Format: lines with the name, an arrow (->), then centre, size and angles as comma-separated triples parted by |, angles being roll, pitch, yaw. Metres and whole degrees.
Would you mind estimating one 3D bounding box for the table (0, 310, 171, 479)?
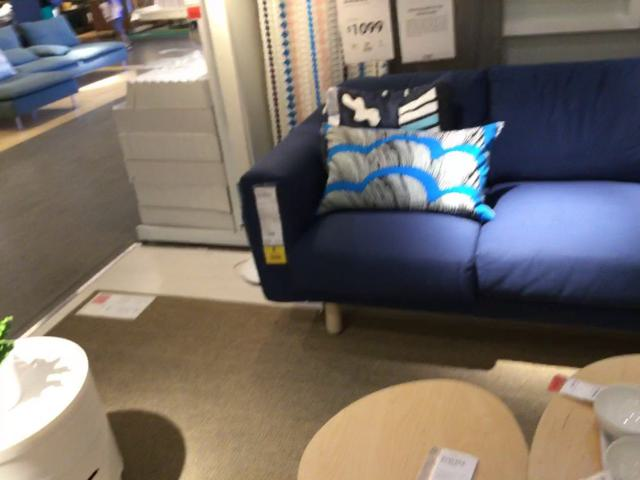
table -> -0.770, 0.530, 1.530 | 0.460, 0.460, 0.470 | 4, 27, 22
